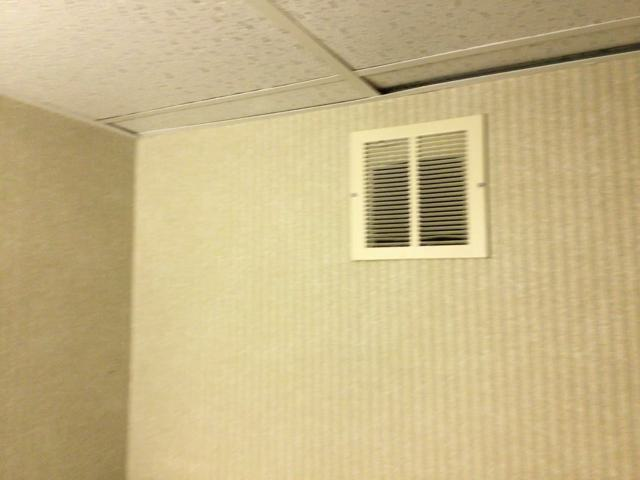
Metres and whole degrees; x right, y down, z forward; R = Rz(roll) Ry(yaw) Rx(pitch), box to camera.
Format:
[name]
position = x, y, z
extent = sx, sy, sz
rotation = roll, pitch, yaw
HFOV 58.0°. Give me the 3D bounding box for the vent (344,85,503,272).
[vent]
position = 0.170, -0.100, 1.010
extent = 0.270, 0.300, 0.010
rotation = -5, -8, 26
